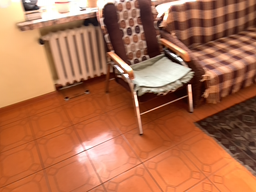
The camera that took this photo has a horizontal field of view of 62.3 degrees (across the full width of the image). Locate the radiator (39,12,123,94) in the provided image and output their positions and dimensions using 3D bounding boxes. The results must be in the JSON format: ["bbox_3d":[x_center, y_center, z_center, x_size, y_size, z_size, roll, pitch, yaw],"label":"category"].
[{"bbox_3d":[-0.450,-0.470,2.310,0.790,0.670,0.190,-23,43,-25],"label":"radiator"}]
